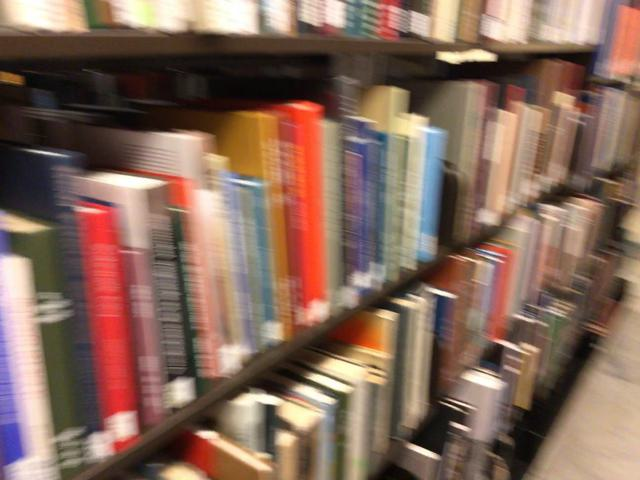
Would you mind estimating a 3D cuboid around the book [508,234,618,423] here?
[{"bbox_3d":[0.990,0.300,2.300,0.130,0.430,0.900,13,22,35],"label":"book"}]

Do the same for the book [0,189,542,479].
[{"bbox_3d":[0.020,0.230,0.990,0.310,0.390,1.180,13,22,35],"label":"book"}]
